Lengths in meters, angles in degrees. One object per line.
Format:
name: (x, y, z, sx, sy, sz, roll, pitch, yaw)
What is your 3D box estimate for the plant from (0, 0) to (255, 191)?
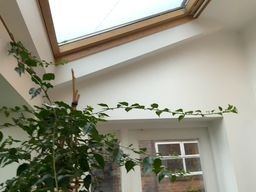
plant: (-0.120, 0.820, 0.660, 1.000, 2.200, 0.960, -1, -17, -8)
